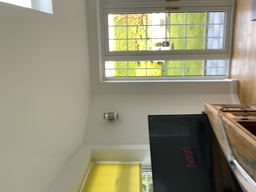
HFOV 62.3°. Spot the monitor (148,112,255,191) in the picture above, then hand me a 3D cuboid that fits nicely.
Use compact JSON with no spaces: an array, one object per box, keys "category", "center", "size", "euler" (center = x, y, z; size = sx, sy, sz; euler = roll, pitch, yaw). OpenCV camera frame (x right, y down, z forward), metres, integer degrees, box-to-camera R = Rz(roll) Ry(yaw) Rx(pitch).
[{"category":"monitor","center":[0.540,0.470,1.780],"size":[1.070,0.700,0.080],"euler":[-86,-5,-60]}]
